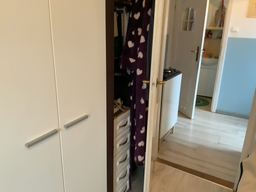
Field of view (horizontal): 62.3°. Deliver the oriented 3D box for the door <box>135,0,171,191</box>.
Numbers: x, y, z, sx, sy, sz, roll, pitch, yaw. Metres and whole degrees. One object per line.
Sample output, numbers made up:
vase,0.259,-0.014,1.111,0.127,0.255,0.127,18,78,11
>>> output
door,0.200,-0.040,1.600,0.110,2.050,0.770,6,19,11
